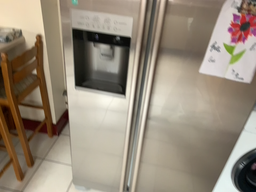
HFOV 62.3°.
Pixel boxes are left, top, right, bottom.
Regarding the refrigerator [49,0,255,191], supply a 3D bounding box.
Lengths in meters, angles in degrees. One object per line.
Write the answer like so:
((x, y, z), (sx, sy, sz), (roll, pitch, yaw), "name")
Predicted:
((0.170, -0.160, 1.310), (0.910, 1.740, 0.750), (10, 33, 6), "refrigerator")
